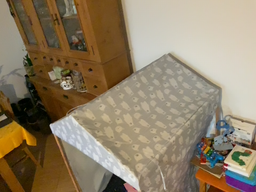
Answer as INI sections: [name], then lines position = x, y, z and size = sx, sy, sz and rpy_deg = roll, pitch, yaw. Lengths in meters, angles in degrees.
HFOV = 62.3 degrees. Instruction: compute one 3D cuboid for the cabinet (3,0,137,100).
[cabinet]
position = -0.680, -0.730, 2.160
size = 1.500, 1.190, 0.380
rpy_deg = 17, 40, 40
